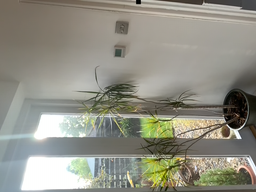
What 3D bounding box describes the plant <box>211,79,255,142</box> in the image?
[{"bbox_3d":[1.060,0.130,1.900,0.380,0.370,0.400,-98,13,-49],"label":"plant"}]
